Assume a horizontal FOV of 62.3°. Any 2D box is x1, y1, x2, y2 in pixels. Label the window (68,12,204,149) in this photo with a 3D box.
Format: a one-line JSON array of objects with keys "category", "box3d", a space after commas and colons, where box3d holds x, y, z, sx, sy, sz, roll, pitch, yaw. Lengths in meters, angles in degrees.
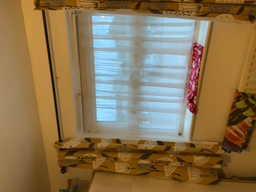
[{"category": "window", "box3d": [0.040, -0.070, 1.840, 0.060, 1.010, 1.190, -86, -2, -66]}]
